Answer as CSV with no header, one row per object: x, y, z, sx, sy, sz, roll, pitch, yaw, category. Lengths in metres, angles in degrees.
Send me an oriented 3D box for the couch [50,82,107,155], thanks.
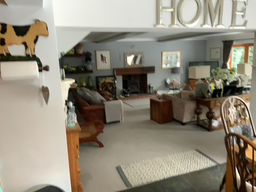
-0.940,0.390,4.200,0.920,1.180,0.730,-4,12,-11,couch
